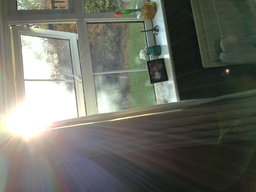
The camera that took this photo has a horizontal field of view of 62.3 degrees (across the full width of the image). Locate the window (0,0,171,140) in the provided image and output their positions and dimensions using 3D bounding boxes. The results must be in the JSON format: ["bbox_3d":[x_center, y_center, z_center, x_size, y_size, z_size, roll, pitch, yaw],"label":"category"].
[{"bbox_3d":[-0.390,-0.600,1.650,0.260,1.150,1.690,144,118,-75],"label":"window"}]
